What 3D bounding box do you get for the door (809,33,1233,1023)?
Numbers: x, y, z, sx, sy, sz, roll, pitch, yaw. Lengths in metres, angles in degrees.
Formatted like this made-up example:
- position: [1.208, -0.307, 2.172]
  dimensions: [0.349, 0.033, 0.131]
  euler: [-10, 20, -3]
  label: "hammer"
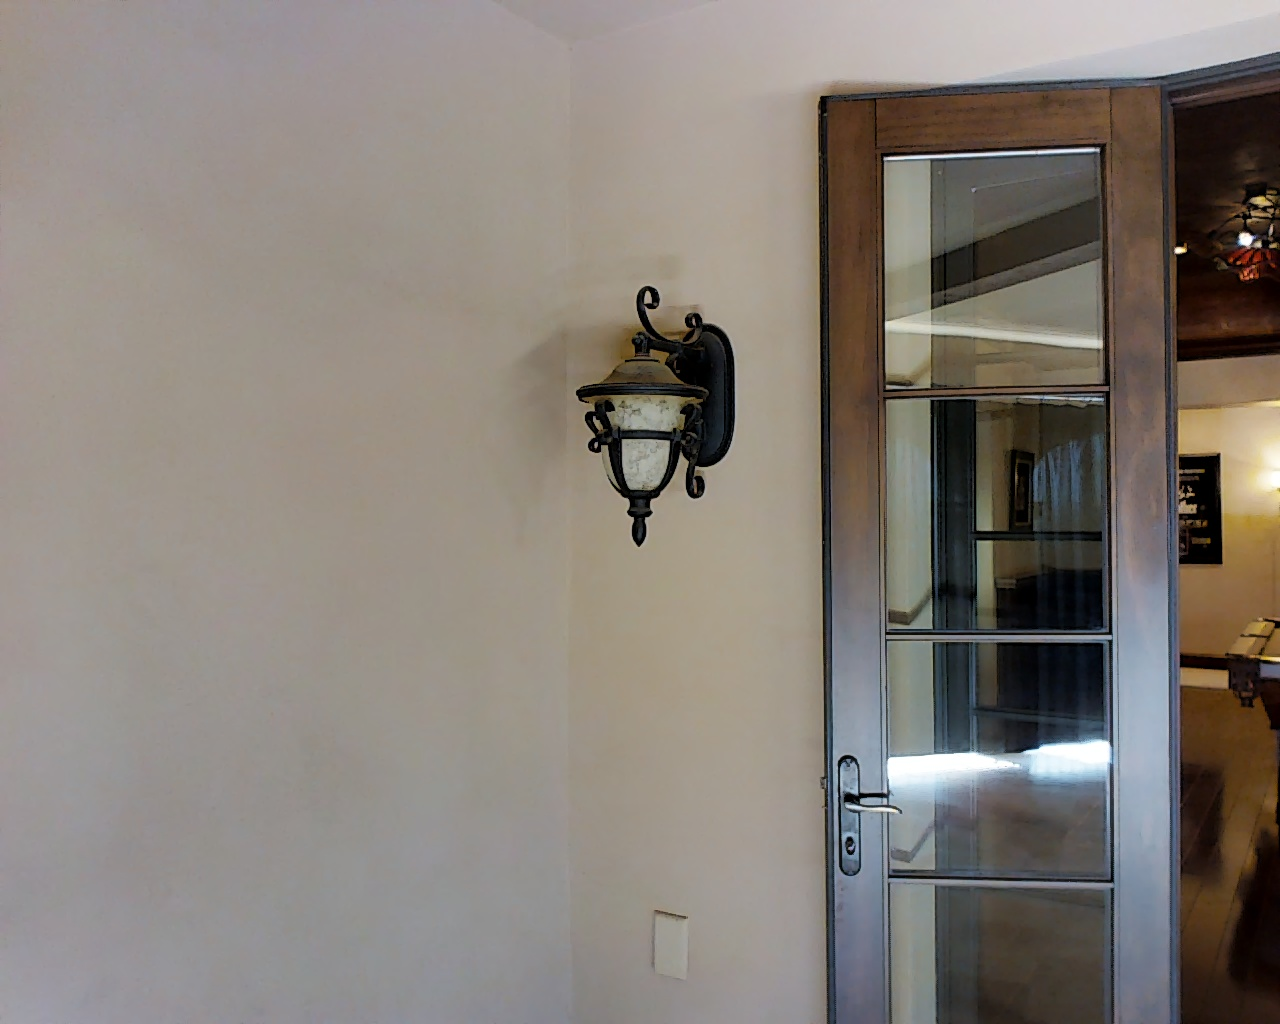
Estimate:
- position: [0.760, 0.300, 2.190]
  dimensions: [0.790, 2.440, 0.100]
  euler: [-1, 0, 10]
  label: "door"
